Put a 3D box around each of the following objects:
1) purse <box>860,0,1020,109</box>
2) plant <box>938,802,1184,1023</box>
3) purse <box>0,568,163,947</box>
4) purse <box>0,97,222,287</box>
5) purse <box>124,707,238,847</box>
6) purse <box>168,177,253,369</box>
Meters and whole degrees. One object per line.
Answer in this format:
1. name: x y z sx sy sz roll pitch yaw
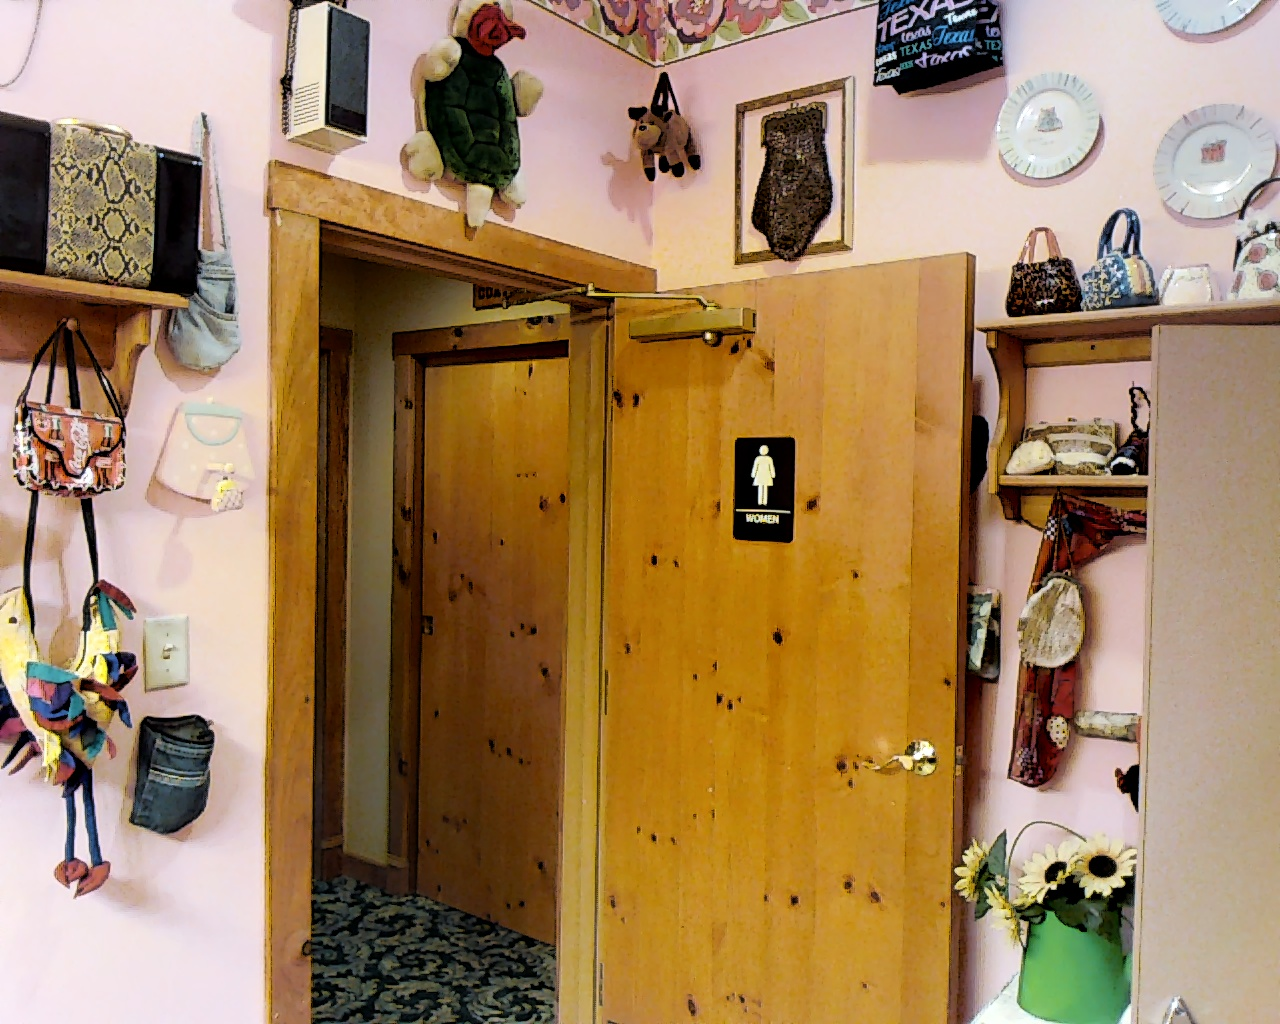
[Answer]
1. purse: 0.630 -1.110 2.250 0.270 0.430 0.180 3 2 38
2. plant: 0.780 0.770 2.000 0.360 0.340 0.240 3 2 38
3. purse: -0.870 0.350 1.630 0.130 0.510 0.230 3 2 38
4. purse: -0.830 -0.470 1.630 0.130 0.230 0.330 3 9 38
5. purse: -0.770 0.440 1.810 0.090 0.190 0.150 3 2 38
6. purse: -0.730 -0.400 1.830 0.070 0.300 0.110 3 2 38
